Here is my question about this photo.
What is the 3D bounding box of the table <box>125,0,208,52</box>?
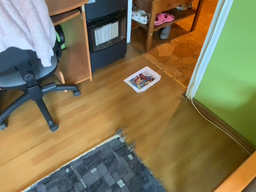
[{"bbox_3d":[0.410,-0.910,2.210,0.810,0.550,0.350,-27,56,-25],"label":"table"}]
